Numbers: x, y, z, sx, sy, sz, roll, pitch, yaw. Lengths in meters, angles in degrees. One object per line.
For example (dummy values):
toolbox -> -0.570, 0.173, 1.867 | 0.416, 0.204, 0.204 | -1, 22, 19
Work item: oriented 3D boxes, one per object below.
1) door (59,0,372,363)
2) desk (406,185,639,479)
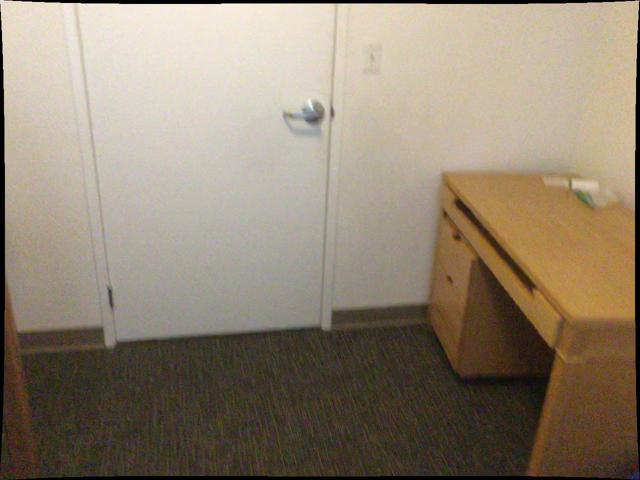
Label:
door -> -0.389, -0.381, 2.190 | 1.018, 1.822, 0.200 | 0, 24, -15
desk -> 0.869, 0.331, 2.140 | 0.709, 0.801, 1.240 | 2, 17, -8
